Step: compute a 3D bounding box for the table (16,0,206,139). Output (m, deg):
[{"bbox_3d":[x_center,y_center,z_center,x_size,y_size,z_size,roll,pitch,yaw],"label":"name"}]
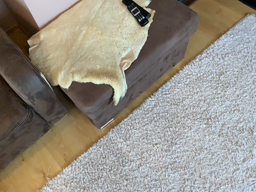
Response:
[{"bbox_3d":[-0.080,-0.330,1.490,0.970,0.450,0.660,-42,68,-18],"label":"table"}]
